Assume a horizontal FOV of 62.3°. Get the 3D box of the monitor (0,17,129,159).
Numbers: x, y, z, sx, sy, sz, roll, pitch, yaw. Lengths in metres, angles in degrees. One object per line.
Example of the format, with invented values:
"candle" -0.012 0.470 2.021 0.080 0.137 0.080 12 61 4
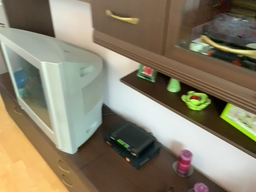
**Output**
"monitor" -0.470 -0.130 1.470 0.790 0.580 0.530 29 42 34
